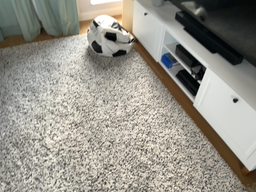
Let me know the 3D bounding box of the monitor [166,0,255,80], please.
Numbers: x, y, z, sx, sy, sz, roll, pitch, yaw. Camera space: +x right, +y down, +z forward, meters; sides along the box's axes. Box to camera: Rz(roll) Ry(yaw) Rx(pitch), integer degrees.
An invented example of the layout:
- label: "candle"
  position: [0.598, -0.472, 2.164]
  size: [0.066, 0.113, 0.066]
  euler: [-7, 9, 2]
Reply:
- label: "monitor"
  position: [0.630, -0.720, 1.390]
  size: [0.060, 0.740, 1.240]
  euler: [-16, 49, -15]
